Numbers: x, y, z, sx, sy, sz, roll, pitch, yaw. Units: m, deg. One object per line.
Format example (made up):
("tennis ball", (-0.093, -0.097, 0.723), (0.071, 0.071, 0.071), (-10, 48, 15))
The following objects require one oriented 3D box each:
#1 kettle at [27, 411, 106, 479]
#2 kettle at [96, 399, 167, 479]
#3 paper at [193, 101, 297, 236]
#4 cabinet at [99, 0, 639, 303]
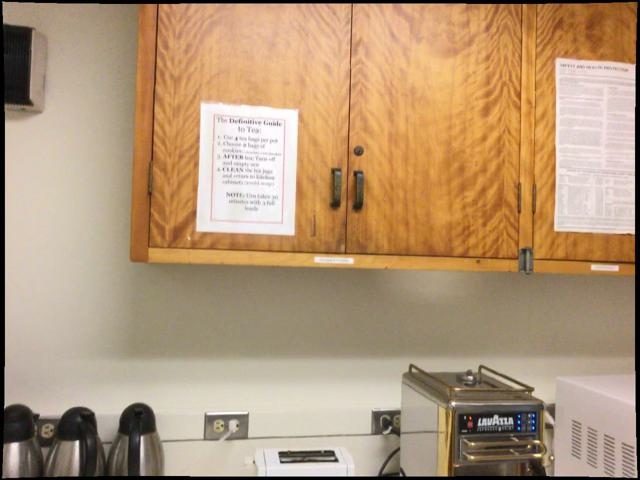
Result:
("kettle", (-0.588, 0.561, 1.350), (0.140, 0.271, 0.140), (-1, -1, -10))
("kettle", (-0.459, 0.551, 1.420), (0.140, 0.261, 0.190), (-1, -1, -10))
("paper", (-0.170, -0.160, 1.310), (0.229, 0.301, 0.020), (-1, -1, -10))
("cabinet", (0.449, -0.361, 1.650), (1.965, 0.983, 0.470), (-1, -1, -10))
